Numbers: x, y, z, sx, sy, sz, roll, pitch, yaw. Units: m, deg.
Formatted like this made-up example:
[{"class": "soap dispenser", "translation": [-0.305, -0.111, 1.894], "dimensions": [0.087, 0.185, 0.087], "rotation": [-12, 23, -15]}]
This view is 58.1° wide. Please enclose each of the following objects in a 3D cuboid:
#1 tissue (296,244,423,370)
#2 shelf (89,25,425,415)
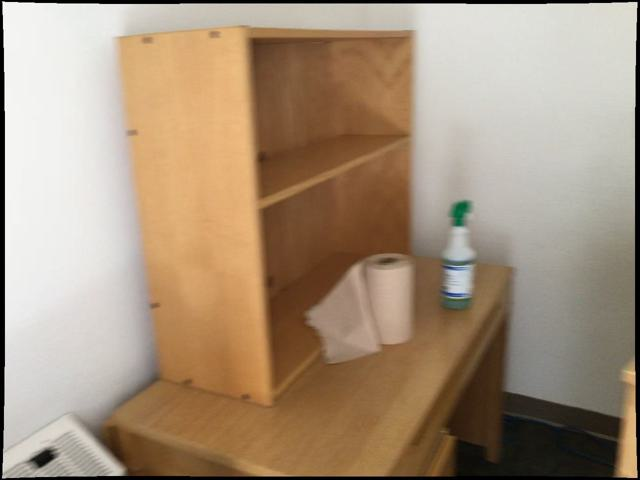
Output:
[{"class": "tissue", "translation": [0.110, 0.160, 1.490], "dimensions": [0.240, 0.210, 0.240], "rotation": [6, 21, 28]}, {"class": "shelf", "translation": [-0.040, -0.170, 1.610], "dimensions": [0.329, 0.782, 1.030], "rotation": [6, 21, 28]}]
